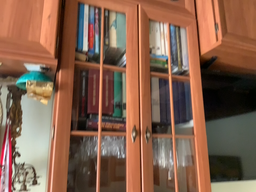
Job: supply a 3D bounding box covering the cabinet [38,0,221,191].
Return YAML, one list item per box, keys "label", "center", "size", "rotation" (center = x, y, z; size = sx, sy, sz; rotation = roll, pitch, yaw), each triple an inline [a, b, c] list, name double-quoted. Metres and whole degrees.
- label: "cabinet"
  center: [-0.010, -0.010, 1.150]
  size: [0.790, 1.980, 0.420]
  rotation: [6, 165, -21]

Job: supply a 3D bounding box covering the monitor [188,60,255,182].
- label: "monitor"
  center: [0.900, 0.170, 1.390]
  size: [1.090, 0.680, 0.080]
  rotation: [5, 165, -19]
